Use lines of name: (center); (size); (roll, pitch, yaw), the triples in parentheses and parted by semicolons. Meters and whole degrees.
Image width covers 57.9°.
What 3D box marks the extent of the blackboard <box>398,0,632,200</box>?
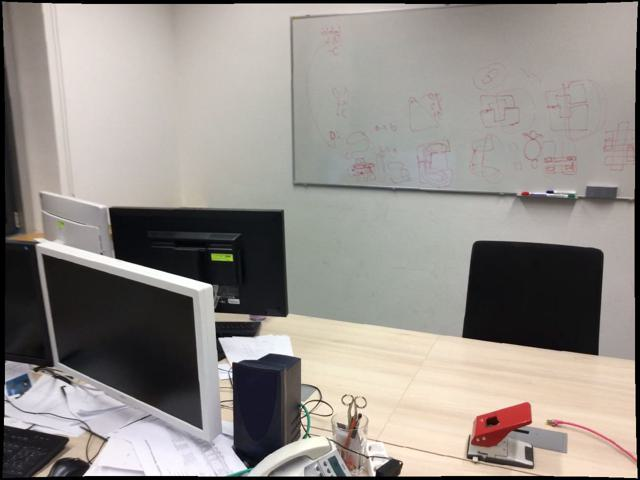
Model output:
blackboard: (0.969, -0.731, 3.040); (1.069, 0.951, 0.110); (6, 15, 21)
